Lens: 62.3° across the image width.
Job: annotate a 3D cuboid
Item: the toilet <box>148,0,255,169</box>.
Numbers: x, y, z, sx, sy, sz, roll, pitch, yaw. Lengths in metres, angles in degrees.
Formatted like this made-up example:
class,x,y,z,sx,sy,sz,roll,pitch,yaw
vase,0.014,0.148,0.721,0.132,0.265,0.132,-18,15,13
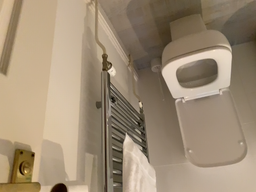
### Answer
class,x,y,z,sx,sy,sz,roll,pitch,yaw
toilet,0.420,-0.070,1.250,0.370,0.860,0.670,-12,154,15
